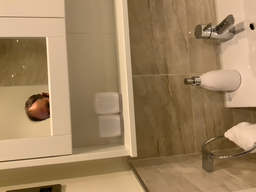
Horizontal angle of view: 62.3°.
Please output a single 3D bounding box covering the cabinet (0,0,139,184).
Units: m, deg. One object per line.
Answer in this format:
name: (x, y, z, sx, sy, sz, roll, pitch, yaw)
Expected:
cabinet: (-0.490, -0.180, 0.580, 0.160, 0.990, 0.810, 162, 105, -76)
